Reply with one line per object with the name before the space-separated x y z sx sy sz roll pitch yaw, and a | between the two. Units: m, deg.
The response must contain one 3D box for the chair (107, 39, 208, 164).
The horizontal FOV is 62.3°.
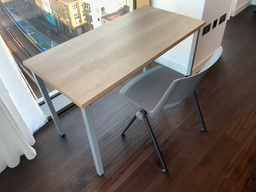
chair | 0.200 0.040 1.600 0.480 0.700 0.430 32 53 32
